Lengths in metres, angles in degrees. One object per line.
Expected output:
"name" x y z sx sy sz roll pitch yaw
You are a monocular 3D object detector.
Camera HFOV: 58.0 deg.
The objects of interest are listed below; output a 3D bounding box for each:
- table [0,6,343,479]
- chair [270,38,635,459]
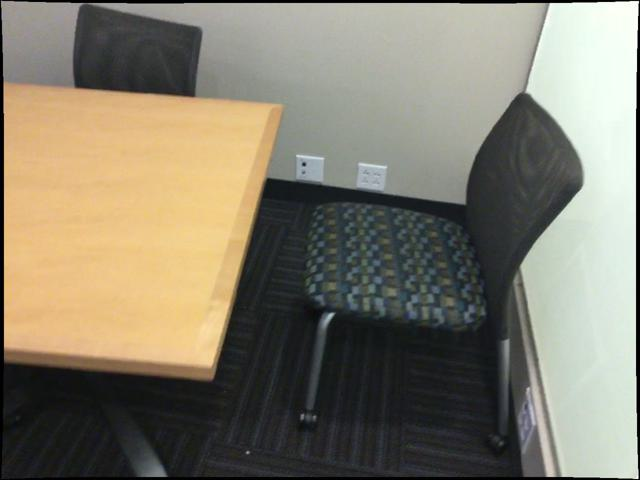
"table" -0.549 0.090 1.350 0.988 0.731 1.031 11 45 3
"chair" 0.249 0.040 1.490 0.609 0.791 0.611 11 45 3
